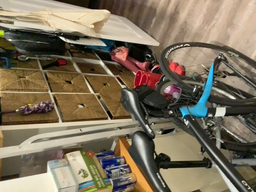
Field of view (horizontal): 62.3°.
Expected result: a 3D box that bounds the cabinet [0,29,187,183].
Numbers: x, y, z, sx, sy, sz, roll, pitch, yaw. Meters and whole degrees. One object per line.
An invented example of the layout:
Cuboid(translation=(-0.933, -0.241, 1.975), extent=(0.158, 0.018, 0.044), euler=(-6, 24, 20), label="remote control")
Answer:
Cuboid(translation=(-0.500, -0.070, 2.100), extent=(1.510, 1.440, 0.460), euler=(51, 129, 44), label="cabinet")
